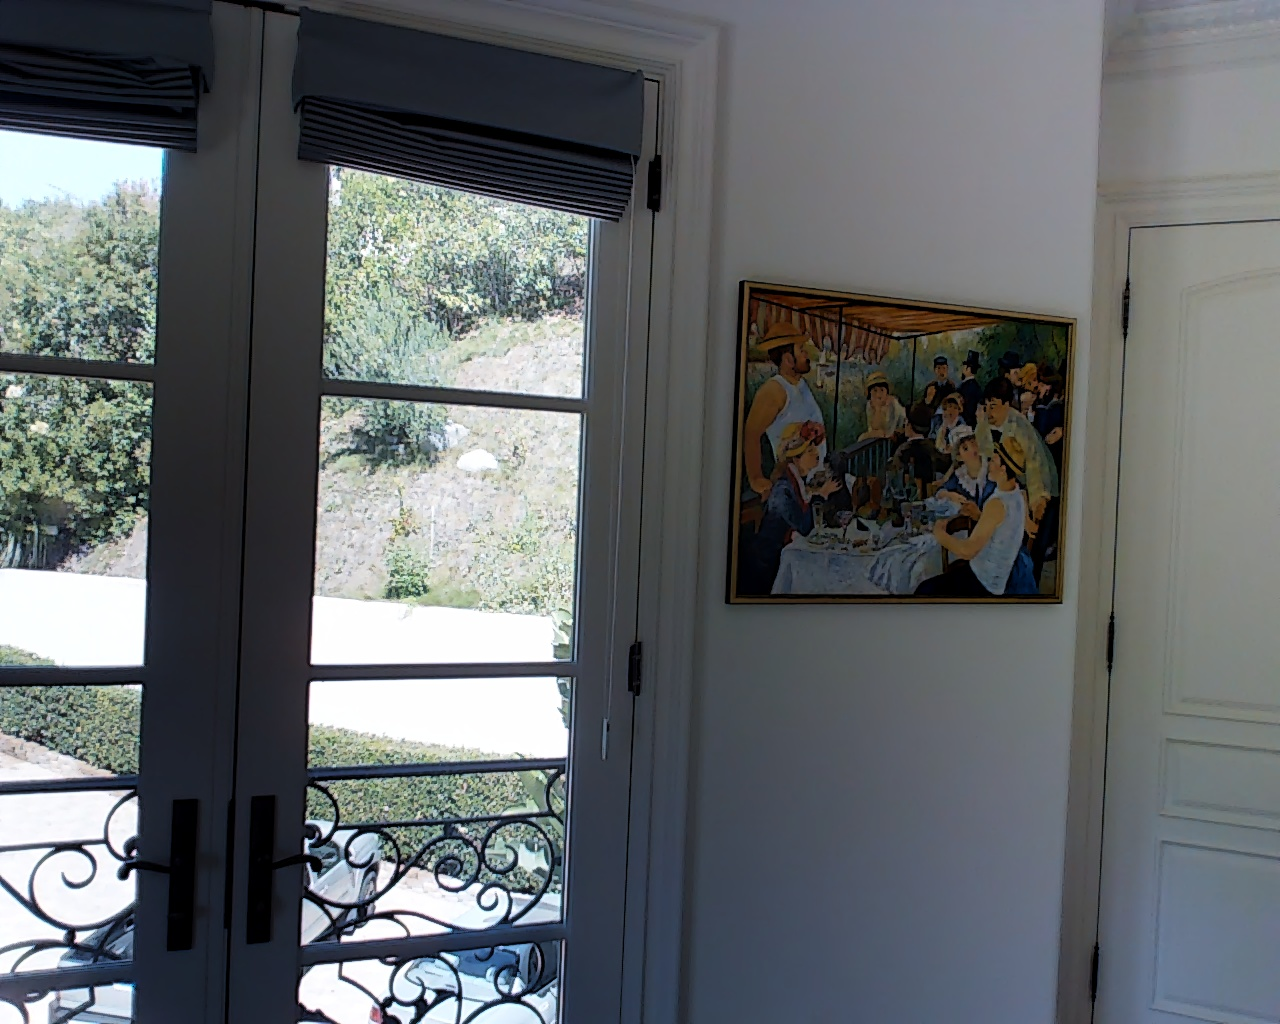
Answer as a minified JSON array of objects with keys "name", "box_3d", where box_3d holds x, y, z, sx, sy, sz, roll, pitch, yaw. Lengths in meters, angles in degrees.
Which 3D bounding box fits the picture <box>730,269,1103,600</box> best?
[{"name":"picture","box_3d":[0.620,-0.140,2.310,0.890,0.650,0.060,2,0,-22]}]
